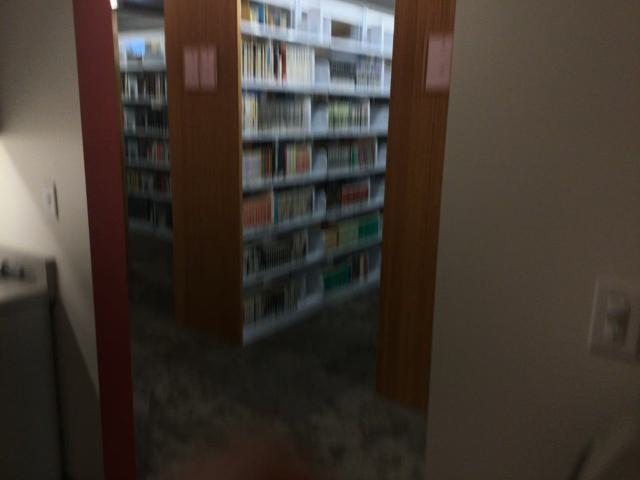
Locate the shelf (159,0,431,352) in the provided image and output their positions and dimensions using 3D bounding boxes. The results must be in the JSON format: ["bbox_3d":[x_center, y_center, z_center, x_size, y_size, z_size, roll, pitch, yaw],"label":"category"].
[{"bbox_3d":[-0.030,-0.630,4.300,0.600,2.170,2.300,11,17,35],"label":"shelf"}]

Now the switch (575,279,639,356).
[{"bbox_3d":[0.490,0.130,0.980,0.090,0.110,0.020,11,17,35],"label":"switch"}]
